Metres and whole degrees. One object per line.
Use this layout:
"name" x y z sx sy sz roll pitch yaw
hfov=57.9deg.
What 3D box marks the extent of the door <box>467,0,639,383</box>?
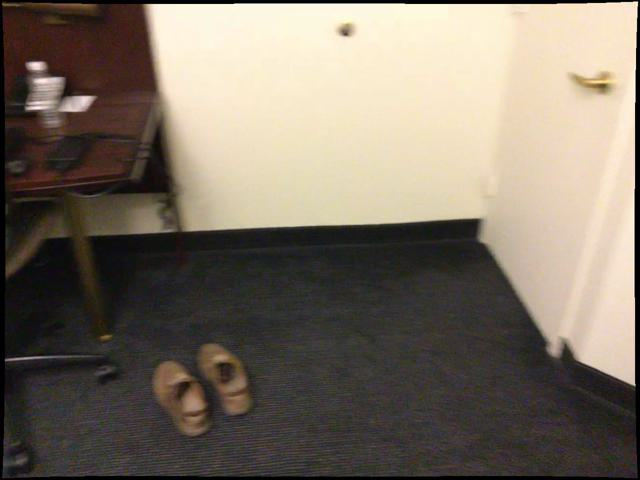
"door" 0.839 -0.691 1.750 0.130 2.121 1.000 -3 33 -6
